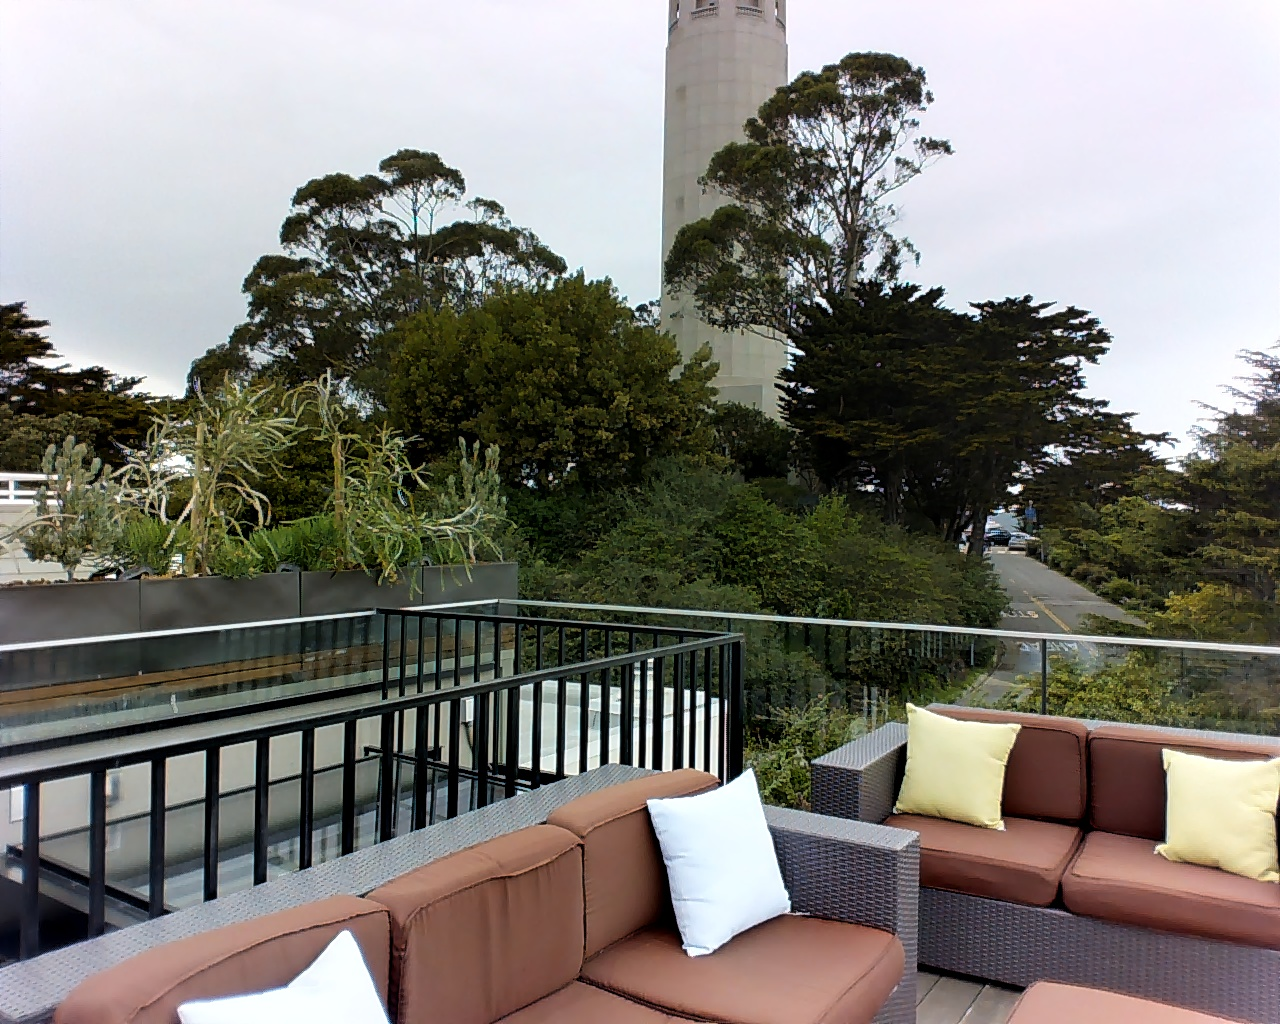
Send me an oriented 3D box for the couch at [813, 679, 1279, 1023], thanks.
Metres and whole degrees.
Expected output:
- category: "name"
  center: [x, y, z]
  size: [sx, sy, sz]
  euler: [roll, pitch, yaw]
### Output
- category: "couch"
  center: [1.600, 1.140, 3.780]
  size: [1.700, 0.810, 0.970]
  euler: [1, 0, 31]
